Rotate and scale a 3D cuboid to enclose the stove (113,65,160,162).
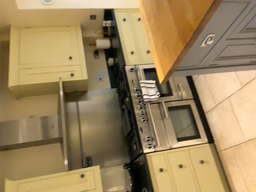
[{"bbox_3d":[0.060,0.230,2.690,0.600,0.260,1.060,112,149,-63],"label":"stove"}]
